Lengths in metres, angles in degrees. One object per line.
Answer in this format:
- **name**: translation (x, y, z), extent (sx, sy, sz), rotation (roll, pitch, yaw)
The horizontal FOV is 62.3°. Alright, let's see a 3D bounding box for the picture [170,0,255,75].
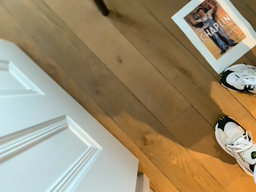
- **picture**: translation (0.340, -0.260, 0.840), extent (0.200, 0.010, 0.290), rotation (-40, 89, 5)
